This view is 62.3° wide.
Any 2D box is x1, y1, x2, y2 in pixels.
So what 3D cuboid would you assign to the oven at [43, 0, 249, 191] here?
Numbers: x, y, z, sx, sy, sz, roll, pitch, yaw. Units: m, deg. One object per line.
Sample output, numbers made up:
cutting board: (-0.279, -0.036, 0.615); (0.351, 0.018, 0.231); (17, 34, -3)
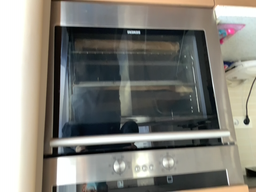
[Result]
oven: (0.010, 0.050, 0.910); (0.570, 0.590, 0.580); (-1, 167, -10)
